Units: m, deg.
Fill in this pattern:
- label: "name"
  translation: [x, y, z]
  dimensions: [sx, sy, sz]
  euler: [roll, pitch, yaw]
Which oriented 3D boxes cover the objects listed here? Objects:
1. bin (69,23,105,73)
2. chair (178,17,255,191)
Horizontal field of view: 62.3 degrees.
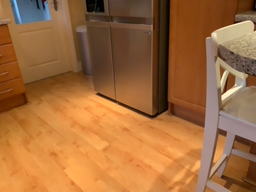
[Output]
- label: "bin"
  translation: [-0.610, -0.730, 3.190]
  dimensions: [0.340, 0.650, 0.310]
  euler: [-22, 32, -33]
- label: "chair"
  translation: [0.570, 0.170, 0.930]
  dimensions: [0.420, 0.910, 0.490]
  euler: [-25, 33, -36]
